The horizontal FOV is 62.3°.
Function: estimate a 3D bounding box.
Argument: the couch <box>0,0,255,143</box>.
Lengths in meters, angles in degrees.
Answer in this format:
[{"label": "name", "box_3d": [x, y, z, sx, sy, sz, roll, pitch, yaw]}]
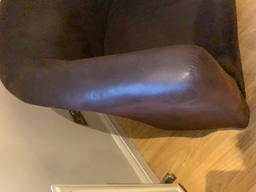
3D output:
[{"label": "couch", "box_3d": [0.030, -0.260, 0.880, 0.740, 0.780, 0.800, -10, 67, 37]}]
